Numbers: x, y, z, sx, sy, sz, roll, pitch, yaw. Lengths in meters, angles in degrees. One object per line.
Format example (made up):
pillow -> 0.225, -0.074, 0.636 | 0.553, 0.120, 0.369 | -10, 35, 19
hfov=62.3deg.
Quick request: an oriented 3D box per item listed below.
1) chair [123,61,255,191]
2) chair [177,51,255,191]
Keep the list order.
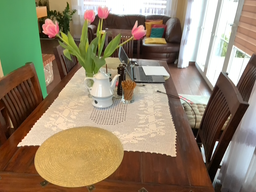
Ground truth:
chair -> 0.280, 0.360, 1.350 | 0.530, 1.000, 0.490 | 7, 26, 7
chair -> 0.780, 0.200, 1.750 | 0.530, 1.000, 0.490 | 5, 26, 3
